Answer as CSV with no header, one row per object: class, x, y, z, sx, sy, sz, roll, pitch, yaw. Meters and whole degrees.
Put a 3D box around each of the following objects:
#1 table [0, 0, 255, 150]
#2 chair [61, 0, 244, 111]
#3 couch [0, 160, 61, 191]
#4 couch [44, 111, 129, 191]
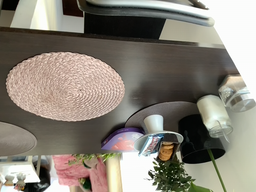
table,-0.430,-0.360,1.070,1.520,1.030,0.710,2,145,-14
chair,-0.040,-0.510,0.930,0.410,1.030,0.500,2,145,-14
couch,-2.040,1.970,4.380,0.810,0.870,0.930,-17,145,14
couch,-0.730,1.330,3.680,0.940,0.900,2.600,0,145,-12
